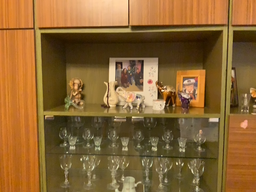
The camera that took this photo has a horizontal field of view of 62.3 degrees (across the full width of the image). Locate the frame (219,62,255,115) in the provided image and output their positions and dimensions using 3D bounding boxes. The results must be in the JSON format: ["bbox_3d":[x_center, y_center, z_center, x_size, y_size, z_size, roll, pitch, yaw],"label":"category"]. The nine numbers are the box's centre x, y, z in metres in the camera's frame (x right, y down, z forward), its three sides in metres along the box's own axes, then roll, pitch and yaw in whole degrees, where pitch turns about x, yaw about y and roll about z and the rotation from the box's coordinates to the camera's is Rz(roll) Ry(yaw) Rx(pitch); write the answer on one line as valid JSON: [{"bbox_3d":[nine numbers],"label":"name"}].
[{"bbox_3d":[0.670,-0.040,1.250,0.210,0.300,0.070,-1,18,4],"label":"frame"}]
